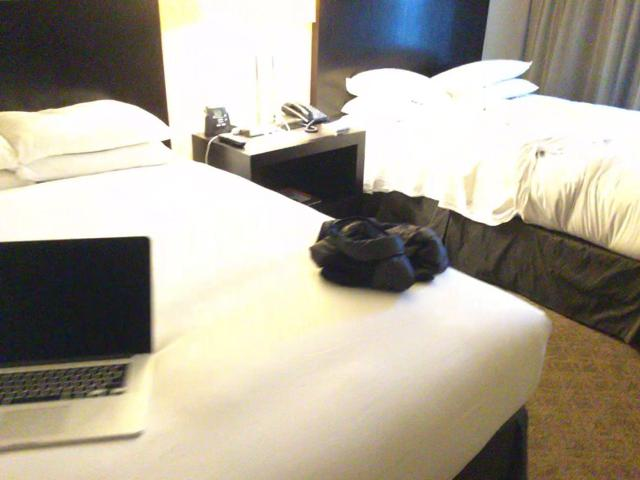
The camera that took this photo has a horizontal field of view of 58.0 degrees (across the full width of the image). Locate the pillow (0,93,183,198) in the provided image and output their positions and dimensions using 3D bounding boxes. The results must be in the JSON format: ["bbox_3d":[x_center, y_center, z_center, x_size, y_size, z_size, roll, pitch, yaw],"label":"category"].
[{"bbox_3d":[-0.920,-0.390,2.230,0.630,0.240,0.390,-20,30,-38],"label":"pillow"}]

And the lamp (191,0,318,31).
[{"bbox_3d":[-0.300,-1.140,2.690,0.490,0.280,0.330,-20,30,-38],"label":"lamp"}]

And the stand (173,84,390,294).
[{"bbox_3d":[-0.170,-0.320,2.970,0.900,0.800,0.560,-20,30,-38],"label":"stand"}]

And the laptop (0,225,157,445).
[{"bbox_3d":[-0.510,0.150,1.060,0.350,0.210,0.400,-3,23,-9],"label":"laptop"}]

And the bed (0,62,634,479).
[{"bbox_3d":[-0.670,0.170,1.670,1.670,1.040,2.170,-20,30,-38],"label":"bed"}]

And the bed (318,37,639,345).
[{"bbox_3d":[1.270,-0.500,3.190,1.550,1.010,2.110,-20,30,-38],"label":"bed"}]

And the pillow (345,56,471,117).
[{"bbox_3d":[0.520,-0.920,3.410,0.610,0.250,0.430,-20,30,-38],"label":"pillow"}]
